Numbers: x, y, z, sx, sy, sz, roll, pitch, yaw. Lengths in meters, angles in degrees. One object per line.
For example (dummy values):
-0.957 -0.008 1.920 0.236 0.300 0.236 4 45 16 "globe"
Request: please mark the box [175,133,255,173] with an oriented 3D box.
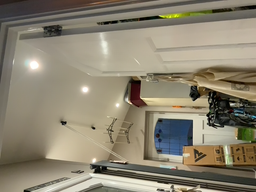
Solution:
1.560 0.970 3.600 0.530 1.430 0.460 54 -139 -61 "box"
